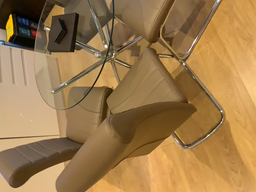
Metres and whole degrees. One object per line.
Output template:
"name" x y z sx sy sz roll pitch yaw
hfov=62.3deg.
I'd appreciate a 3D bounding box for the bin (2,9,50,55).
"bin" -1.500 -0.910 3.120 0.380 0.510 0.380 -33 65 38
